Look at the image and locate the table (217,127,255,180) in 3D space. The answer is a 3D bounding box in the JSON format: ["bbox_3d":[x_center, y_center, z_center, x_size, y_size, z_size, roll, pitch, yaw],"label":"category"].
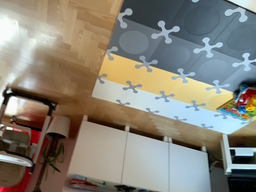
[{"bbox_3d":[1.650,0.710,2.620,0.940,0.560,0.330,-5,143,15],"label":"table"}]
